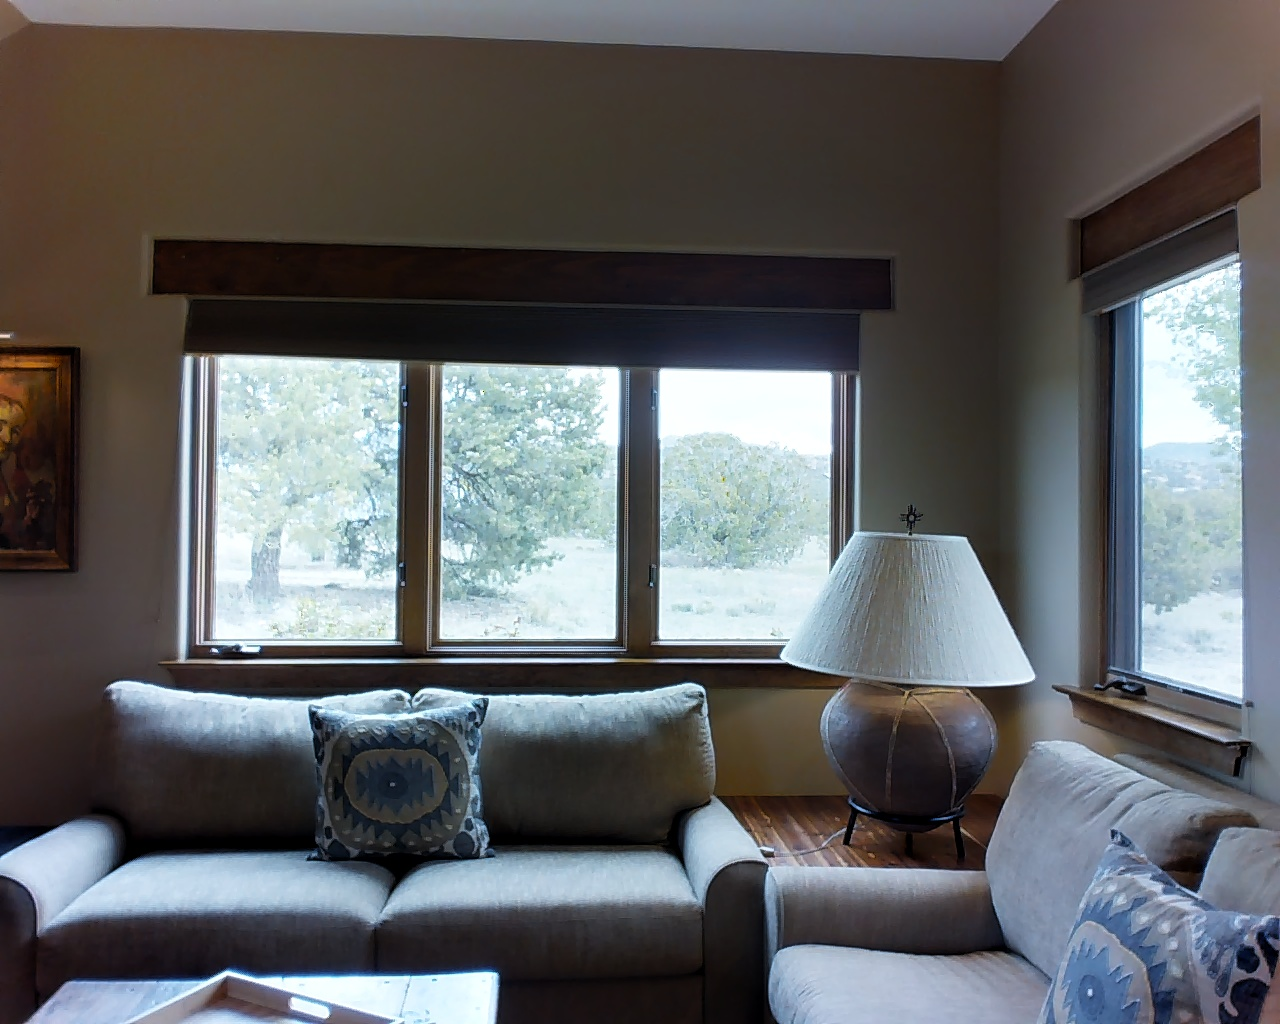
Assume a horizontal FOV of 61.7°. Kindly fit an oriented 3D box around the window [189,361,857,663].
[{"bbox_3d":[-0.370,0.010,3.670,2.219,0.990,0.150,1,-1,-4],"label":"window"}]
